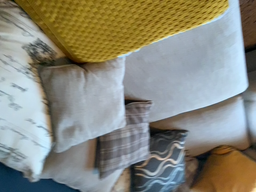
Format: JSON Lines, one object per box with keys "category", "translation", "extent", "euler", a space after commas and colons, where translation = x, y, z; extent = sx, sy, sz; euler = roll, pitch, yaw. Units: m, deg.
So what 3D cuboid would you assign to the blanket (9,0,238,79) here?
{"category": "blanket", "translation": [-0.020, -0.340, 0.660], "extent": [0.620, 0.110, 0.510], "euler": [-16, 140, 19]}
